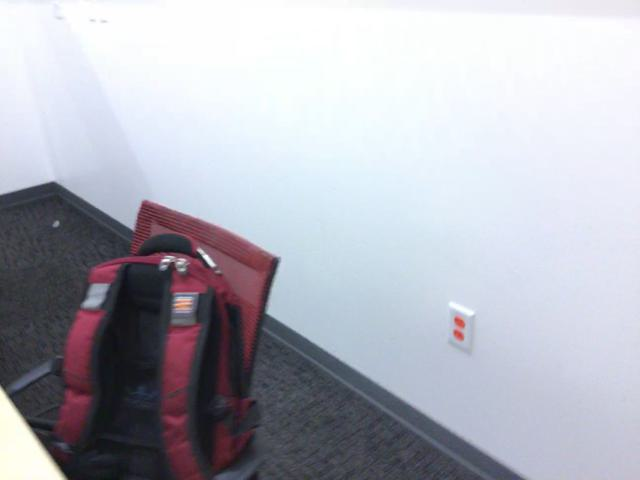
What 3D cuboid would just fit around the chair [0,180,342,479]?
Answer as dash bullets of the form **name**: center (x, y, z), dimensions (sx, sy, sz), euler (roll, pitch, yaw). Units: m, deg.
- **chair**: center (-0.350, 0.390, 1.110), dimensions (0.520, 0.780, 0.590), euler (-22, 33, -35)
